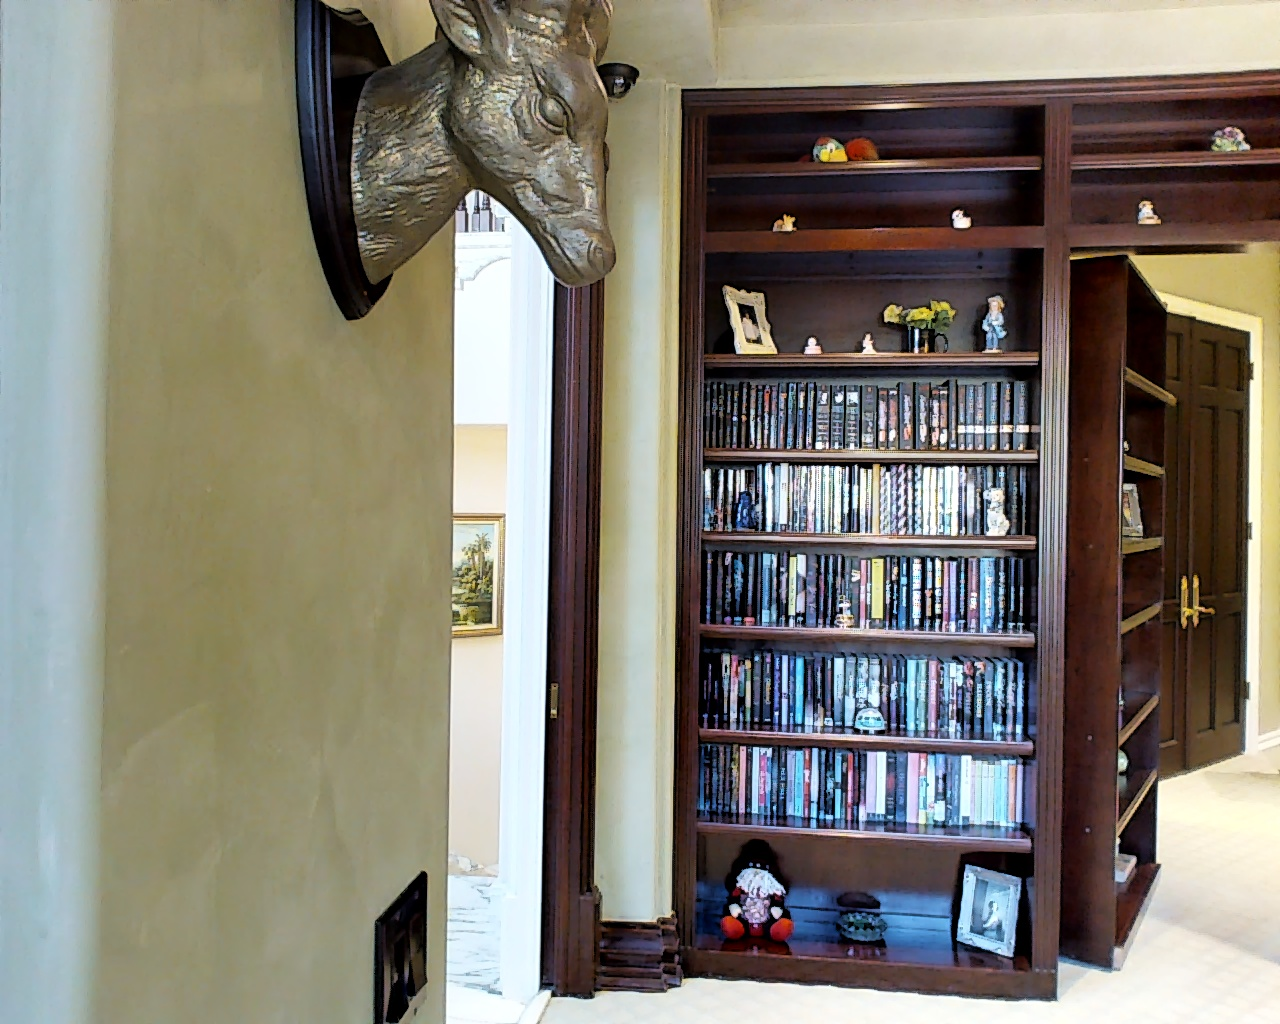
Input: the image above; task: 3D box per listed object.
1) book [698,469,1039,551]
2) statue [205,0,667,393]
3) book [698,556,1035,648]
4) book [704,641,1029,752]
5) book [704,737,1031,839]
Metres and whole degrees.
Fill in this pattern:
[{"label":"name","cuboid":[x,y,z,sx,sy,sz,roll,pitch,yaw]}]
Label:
[{"label":"book","cuboid":[0.690,-0.010,3.310,1.010,0.240,0.130,1,0,10]},{"label":"statue","cuboid":[-0.100,-0.260,0.690,0.210,0.330,0.310,1,0,6]},{"label":"book","cuboid":[0.680,0.270,3.290,0.990,0.250,0.170,1,0,6]},{"label":"book","cuboid":[0.680,0.560,3.290,0.950,0.280,0.170,1,0,9]},{"label":"book","cuboid":[0.700,0.860,3.350,0.990,0.260,0.090,1,0,6]}]
